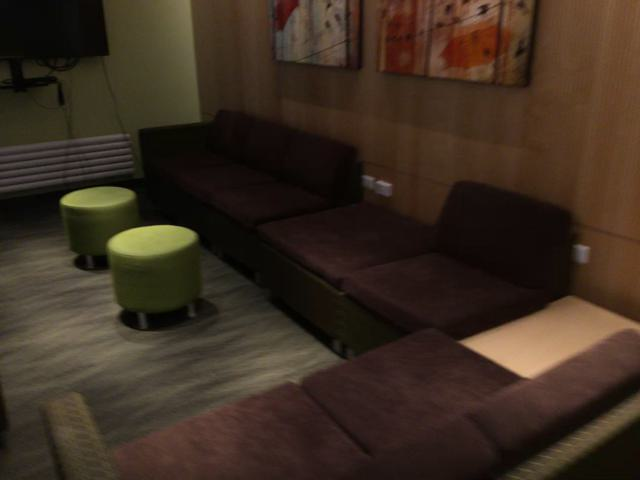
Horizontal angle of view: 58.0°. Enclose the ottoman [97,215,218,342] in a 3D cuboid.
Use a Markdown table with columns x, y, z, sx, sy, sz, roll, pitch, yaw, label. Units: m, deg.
| x | y | z | sx | sy | sz | roll | pitch | yaw | label |
| --- | --- | --- | --- | --- | --- | --- | --- | --- | --- |
| -0.810 | 0.170 | 2.890 | 0.430 | 0.410 | 0.440 | -13 | 27 | -34 | ottoman |
